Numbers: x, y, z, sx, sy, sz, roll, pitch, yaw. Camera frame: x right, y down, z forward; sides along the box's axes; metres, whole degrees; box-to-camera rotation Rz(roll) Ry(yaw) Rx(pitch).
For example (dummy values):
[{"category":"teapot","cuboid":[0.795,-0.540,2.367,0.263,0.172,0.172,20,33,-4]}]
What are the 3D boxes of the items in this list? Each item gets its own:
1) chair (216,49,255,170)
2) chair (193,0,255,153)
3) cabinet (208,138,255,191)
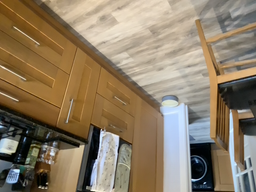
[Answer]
[{"category":"chair","cuboid":[1.080,0.100,1.790,0.460,0.930,0.360,-14,146,33]},{"category":"chair","cuboid":[0.740,-0.160,1.370,0.460,0.930,0.390,-14,146,33]},{"category":"cabinet","cuboid":[2.080,1.260,3.800,1.020,0.830,0.520,-14,146,33]}]
